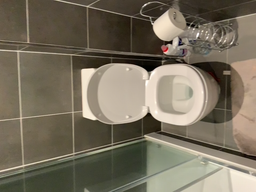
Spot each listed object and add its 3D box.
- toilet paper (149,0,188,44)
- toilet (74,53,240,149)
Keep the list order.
[{"bbox_3d":[0.200,-0.360,1.060,0.130,0.140,0.170,6,98,51],"label":"toilet paper"},{"bbox_3d":[0.180,-0.020,1.340,0.660,0.790,0.380,6,98,51],"label":"toilet"}]
